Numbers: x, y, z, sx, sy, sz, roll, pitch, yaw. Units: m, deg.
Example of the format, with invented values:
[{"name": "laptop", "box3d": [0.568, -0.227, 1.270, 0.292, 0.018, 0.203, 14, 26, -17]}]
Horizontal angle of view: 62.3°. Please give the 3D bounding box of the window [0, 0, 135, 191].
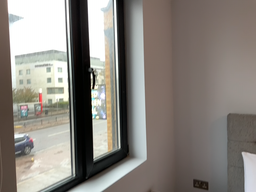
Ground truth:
[{"name": "window", "box3d": [-0.240, -0.180, 1.310, 0.050, 1.460, 1.020, 0, 3, 31]}]
